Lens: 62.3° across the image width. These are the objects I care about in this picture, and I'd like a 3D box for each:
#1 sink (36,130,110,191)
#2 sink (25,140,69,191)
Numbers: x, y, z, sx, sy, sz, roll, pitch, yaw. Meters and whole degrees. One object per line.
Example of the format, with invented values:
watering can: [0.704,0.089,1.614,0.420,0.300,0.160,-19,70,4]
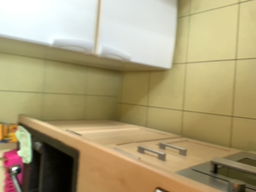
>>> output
sink: [-0.300,0.480,1.080,0.360,0.200,0.540,6,92,47]
sink: [-0.490,0.460,1.270,0.190,0.170,0.340,6,92,47]
